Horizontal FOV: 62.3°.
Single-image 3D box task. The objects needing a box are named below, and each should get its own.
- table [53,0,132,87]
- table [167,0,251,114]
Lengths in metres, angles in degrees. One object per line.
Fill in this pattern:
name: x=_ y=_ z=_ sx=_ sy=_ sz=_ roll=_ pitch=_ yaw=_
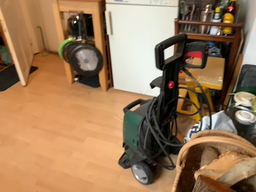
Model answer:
table: x=-0.300 y=-0.640 z=2.170 sx=0.480 sy=0.830 sz=0.600 roll=12 pitch=37 yaw=19
table: x=0.680 y=-0.370 z=1.850 sx=0.470 sy=0.720 sz=0.640 roll=12 pitch=37 yaw=19
